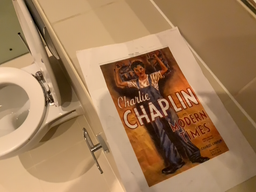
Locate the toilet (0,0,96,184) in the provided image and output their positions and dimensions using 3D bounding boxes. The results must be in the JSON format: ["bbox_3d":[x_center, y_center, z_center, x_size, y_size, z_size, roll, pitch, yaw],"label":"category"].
[{"bbox_3d":[-0.490,0.020,0.870,0.510,0.760,0.420,-27,71,-14],"label":"toilet"}]
